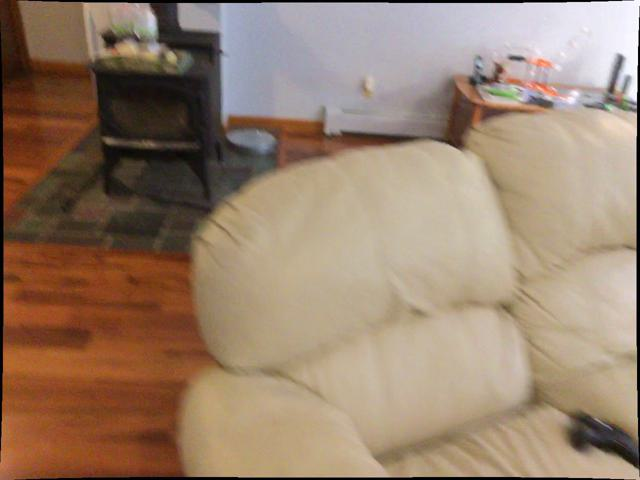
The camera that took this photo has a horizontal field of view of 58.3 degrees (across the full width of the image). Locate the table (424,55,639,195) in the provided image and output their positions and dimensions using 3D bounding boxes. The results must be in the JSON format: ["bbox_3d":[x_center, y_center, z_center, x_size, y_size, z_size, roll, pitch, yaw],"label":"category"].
[{"bbox_3d":[1.479,-0.821,4.000,1.249,0.640,0.840,4,28,-4],"label":"table"}]

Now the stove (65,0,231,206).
[{"bbox_3d":[-0.889,-1.001,3.300,0.619,1.171,1.210,4,28,-4],"label":"stove"}]
